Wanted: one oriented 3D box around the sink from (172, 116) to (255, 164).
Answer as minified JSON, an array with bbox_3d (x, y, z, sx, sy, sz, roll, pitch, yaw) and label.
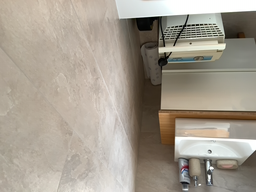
[{"bbox_3d":[0.510,0.290,1.330,0.450,0.120,0.450,1,147,11],"label":"sink"}]
